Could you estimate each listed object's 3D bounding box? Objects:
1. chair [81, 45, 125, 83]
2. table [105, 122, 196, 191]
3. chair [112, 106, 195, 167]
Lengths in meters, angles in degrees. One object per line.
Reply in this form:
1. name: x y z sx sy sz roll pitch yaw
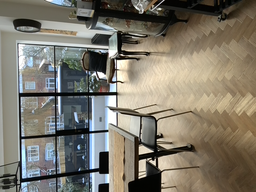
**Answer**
1. chair: -0.590 -0.720 4.770 0.680 0.790 0.560 -120 36 -51
2. table: 0.230 1.430 2.750 0.990 0.800 2.010 -178 88 -68
3. chair: 0.290 0.430 2.510 0.460 0.840 0.580 177 92 -68
